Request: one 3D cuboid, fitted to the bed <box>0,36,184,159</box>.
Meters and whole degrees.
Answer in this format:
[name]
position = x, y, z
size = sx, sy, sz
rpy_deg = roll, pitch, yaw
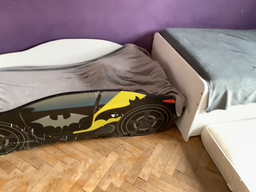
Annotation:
[bed]
position = -0.520, -0.070, 1.750
size = 1.620, 0.500, 0.850
rpy_deg = -6, 39, -16
